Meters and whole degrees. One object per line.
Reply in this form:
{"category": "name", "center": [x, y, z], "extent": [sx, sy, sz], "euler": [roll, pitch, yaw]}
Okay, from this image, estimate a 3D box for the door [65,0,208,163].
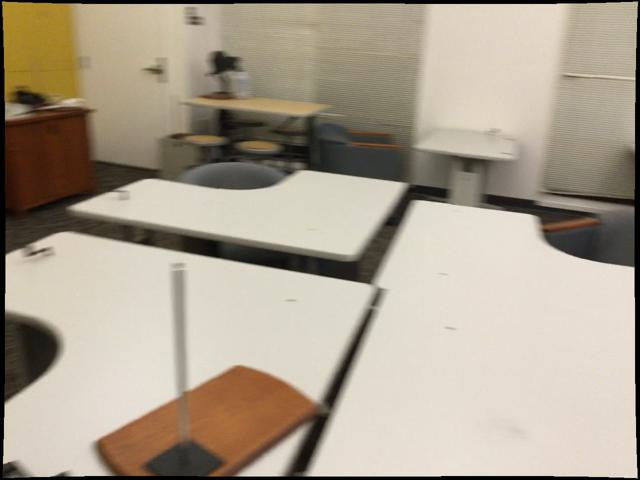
{"category": "door", "center": [-1.728, -1.982, 5.430], "extent": [1.399, 2.342, 0.180], "euler": [10, 22, 15]}
